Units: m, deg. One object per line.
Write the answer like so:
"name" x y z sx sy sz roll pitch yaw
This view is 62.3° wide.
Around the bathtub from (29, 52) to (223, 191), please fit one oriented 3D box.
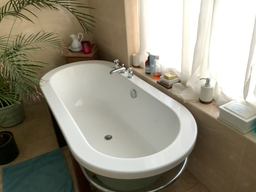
"bathtub" -0.210 0.200 1.880 0.810 0.610 1.710 -20 34 -25
